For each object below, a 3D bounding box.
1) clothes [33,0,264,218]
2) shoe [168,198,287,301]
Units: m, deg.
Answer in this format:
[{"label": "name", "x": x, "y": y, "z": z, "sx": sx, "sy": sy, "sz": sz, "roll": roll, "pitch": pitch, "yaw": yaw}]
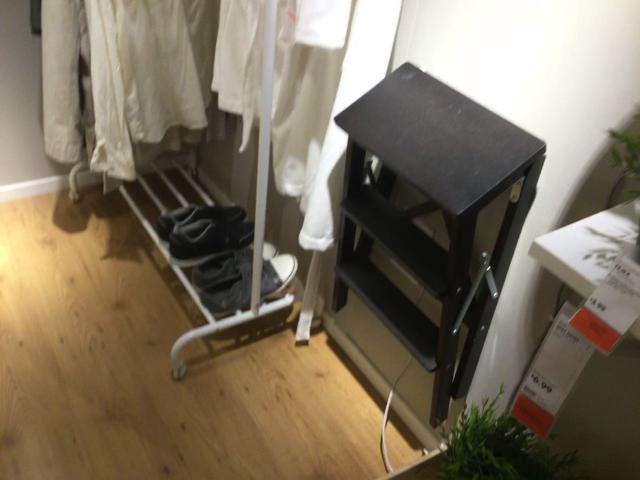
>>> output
[{"label": "clothes", "x": -0.480, "y": -0.560, "z": 1.670, "sx": 0.560, "sy": 0.880, "sz": 0.260, "roll": -16, "pitch": 41, "yaw": -32}, {"label": "shoe", "x": -0.280, "y": 0.020, "z": 1.740, "sx": 0.270, "sy": 0.150, "sz": 0.230, "roll": -16, "pitch": 41, "yaw": -32}]
